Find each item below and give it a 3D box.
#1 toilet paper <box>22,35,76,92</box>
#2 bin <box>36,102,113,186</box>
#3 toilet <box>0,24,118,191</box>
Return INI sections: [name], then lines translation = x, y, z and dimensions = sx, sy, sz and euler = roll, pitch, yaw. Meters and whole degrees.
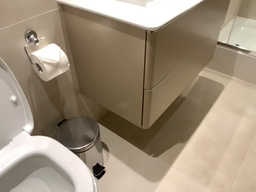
[toilet paper]
translation = -0.310, -0.130, 0.850
dimensions = 0.120, 0.160, 0.120
euler = 26, 48, 27
[bin]
translation = -0.270, 0.250, 1.150
dimensions = 0.220, 0.260, 0.290
euler = 28, 49, 28
[toilet]
translation = -0.360, 0.270, 0.680
dimensions = 0.510, 0.820, 0.400
euler = 27, 49, 27
